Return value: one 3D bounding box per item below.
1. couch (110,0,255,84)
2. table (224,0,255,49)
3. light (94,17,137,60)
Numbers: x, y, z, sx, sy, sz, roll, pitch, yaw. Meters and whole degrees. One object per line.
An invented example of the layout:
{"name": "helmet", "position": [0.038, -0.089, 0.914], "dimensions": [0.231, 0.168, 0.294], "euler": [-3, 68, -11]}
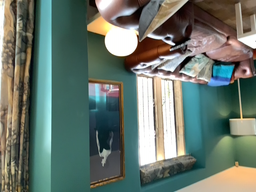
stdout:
{"name": "couch", "position": [0.950, -0.690, 3.200], "dimensions": [2.260, 0.740, 1.030], "euler": [3, 173, -43]}
{"name": "table", "position": [1.610, -0.910, 2.560], "dimensions": [0.570, 0.450, 0.600], "euler": [2, 174, -41]}
{"name": "light", "position": [-0.130, -0.550, 2.100], "dimensions": [0.310, 0.280, 0.290], "euler": [2, 174, -39]}
